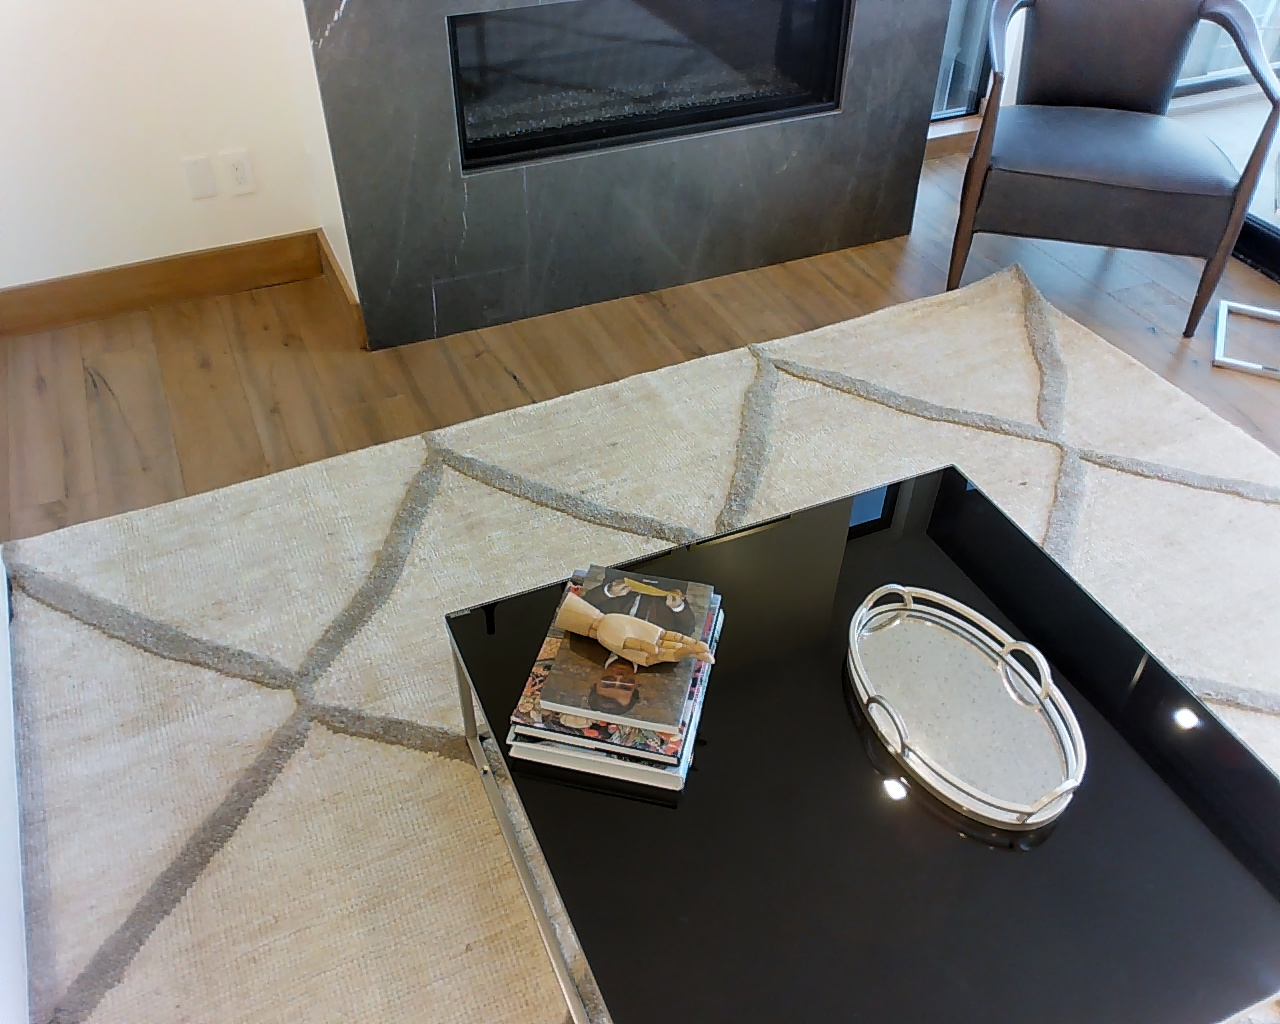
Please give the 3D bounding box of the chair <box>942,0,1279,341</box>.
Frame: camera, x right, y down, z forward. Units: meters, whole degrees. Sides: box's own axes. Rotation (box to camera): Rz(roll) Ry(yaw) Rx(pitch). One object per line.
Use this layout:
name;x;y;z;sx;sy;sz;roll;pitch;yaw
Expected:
chair;1.330;-1.080;3.040;0.780;0.770;0.820;8;42;8
